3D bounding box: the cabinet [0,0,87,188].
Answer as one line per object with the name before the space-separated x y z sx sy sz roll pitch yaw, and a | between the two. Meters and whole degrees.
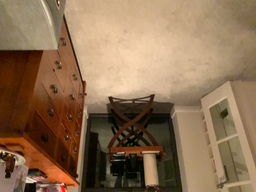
cabinet | -0.680 0.020 1.540 0.550 1.040 1.240 0 150 -4
